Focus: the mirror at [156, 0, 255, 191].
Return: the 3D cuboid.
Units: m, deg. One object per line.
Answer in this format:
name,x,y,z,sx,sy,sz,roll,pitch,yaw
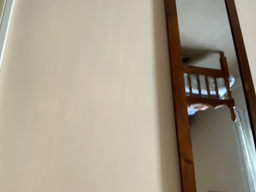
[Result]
mirror,0.350,0.070,0.850,0.430,1.620,0.050,5,161,-17
